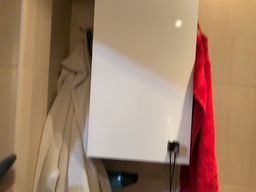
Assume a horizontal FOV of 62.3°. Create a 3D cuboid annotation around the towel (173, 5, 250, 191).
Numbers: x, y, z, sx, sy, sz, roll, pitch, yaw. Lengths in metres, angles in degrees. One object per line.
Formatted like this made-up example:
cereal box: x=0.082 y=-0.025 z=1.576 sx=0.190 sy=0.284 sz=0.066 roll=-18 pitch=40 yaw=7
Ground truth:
towel: x=0.220 y=0.120 z=0.630 sx=0.110 sy=0.670 sz=0.250 roll=3 pitch=0 yaw=4
